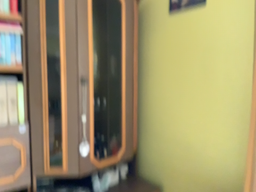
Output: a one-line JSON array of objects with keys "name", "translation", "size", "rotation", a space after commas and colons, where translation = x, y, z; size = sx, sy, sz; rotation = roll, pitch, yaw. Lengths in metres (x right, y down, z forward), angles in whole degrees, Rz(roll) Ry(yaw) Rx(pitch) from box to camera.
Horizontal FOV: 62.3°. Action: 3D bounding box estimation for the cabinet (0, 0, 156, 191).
[{"name": "cabinet", "translation": [-0.340, -0.120, 1.640], "size": [0.570, 1.360, 1.040], "rotation": [3, 4, 45]}]
